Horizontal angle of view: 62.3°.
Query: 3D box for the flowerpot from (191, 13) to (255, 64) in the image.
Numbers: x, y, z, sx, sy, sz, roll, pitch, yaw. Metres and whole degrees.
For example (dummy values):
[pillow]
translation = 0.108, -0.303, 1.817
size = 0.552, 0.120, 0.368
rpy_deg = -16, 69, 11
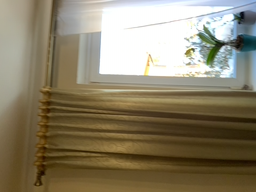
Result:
[flowerpot]
translation = 0.860, -0.460, 1.790
size = 0.500, 0.520, 0.350
rpy_deg = -55, -32, -78
